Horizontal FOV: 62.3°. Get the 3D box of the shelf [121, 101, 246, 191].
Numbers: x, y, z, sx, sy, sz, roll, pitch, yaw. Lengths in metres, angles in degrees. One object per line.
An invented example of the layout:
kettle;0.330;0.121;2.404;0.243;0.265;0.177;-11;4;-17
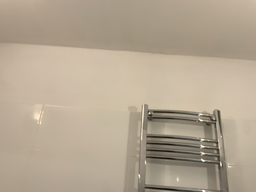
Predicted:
shelf;0.300;0.590;1.170;0.680;1.110;0.100;5;-24;-1
